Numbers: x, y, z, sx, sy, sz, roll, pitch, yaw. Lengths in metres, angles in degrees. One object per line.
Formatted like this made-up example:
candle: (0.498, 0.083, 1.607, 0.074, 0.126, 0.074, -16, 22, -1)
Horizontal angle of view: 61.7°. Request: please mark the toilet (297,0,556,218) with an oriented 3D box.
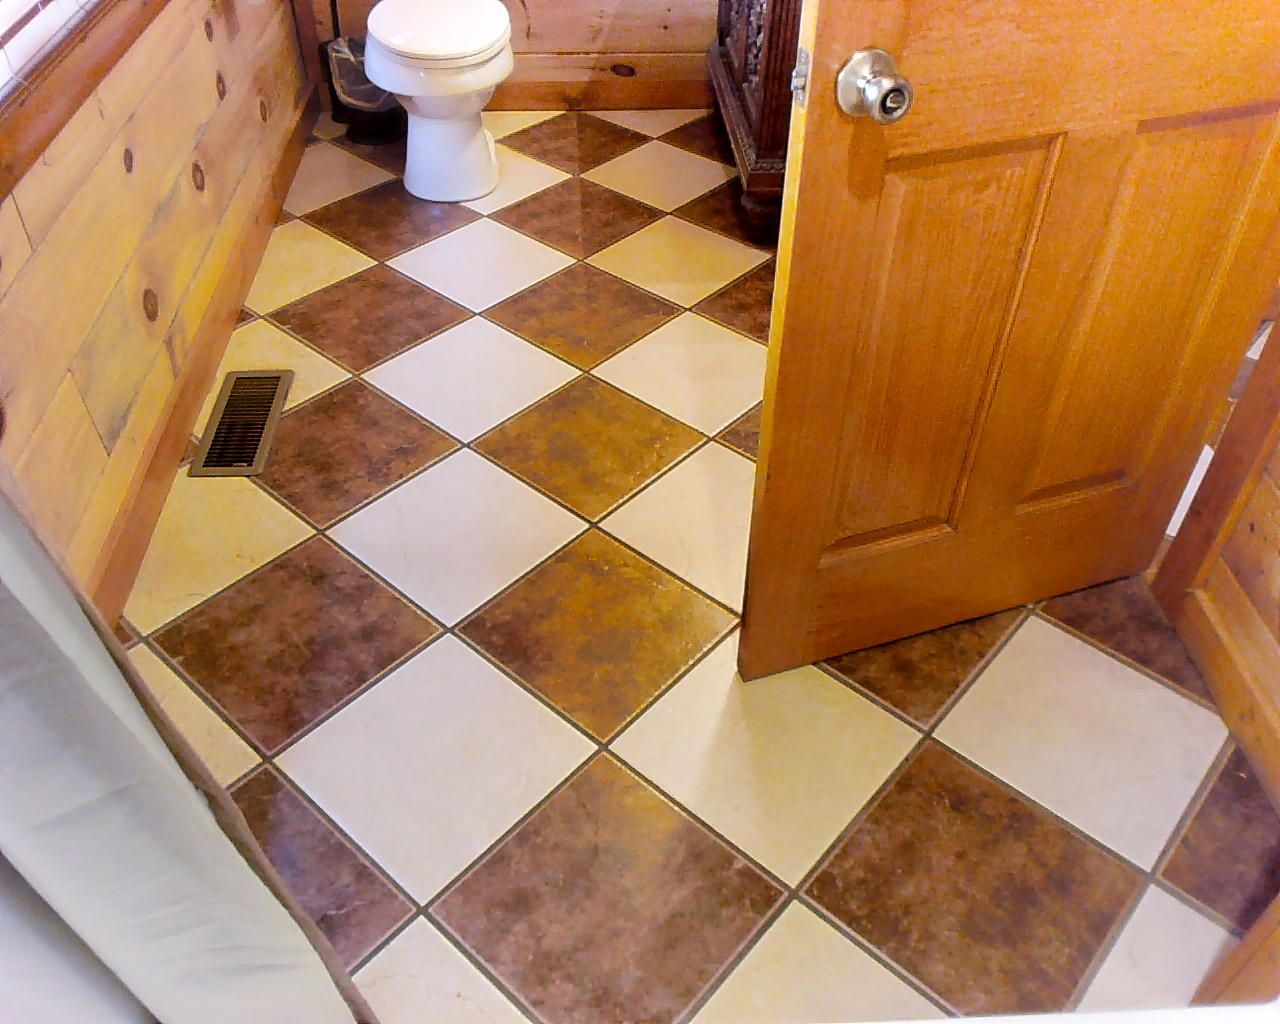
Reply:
toilet: (-0.510, -1.280, 2.800, 0.550, 0.700, 0.790, -2, 42, -3)
